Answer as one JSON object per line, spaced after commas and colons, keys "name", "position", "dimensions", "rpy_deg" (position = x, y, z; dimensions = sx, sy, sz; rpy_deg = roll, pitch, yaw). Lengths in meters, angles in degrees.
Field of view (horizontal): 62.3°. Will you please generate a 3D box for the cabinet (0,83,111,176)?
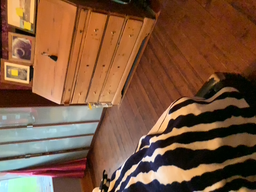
{"name": "cabinet", "position": [-1.660, 0.600, 3.510], "dimensions": [0.540, 2.320, 1.630], "rpy_deg": [63, 141, 40]}
